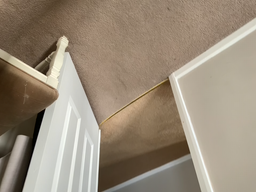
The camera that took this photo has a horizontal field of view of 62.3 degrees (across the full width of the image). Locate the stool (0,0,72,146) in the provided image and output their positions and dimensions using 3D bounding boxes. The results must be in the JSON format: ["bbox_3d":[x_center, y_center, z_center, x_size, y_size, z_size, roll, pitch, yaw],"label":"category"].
[{"bbox_3d":[-0.610,-0.150,0.950,0.480,0.470,0.440,32,126,-32],"label":"stool"}]
